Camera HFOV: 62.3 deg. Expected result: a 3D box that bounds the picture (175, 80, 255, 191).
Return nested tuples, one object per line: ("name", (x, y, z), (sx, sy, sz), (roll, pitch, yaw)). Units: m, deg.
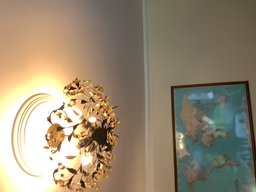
("picture", (1.100, 0.550, 2.770), (0.040, 0.910, 1.490), (35, -126, -69))
